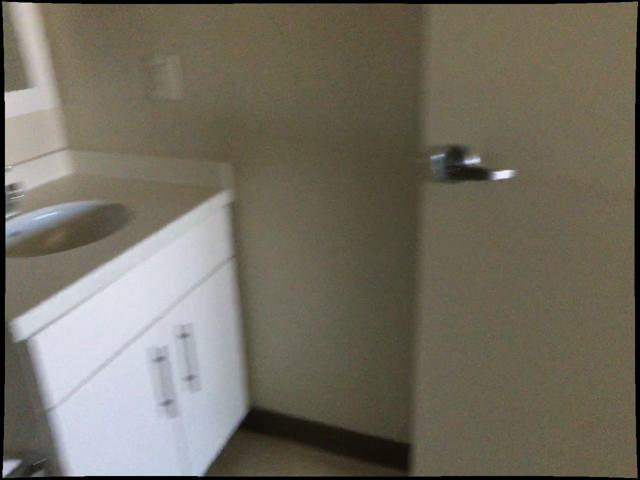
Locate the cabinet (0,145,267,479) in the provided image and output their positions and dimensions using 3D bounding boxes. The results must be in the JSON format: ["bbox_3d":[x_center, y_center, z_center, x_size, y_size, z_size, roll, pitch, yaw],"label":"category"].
[{"bbox_3d":[-0.629,0.310,1.520,0.599,0.901,0.830,7,25,21],"label":"cabinet"}]
